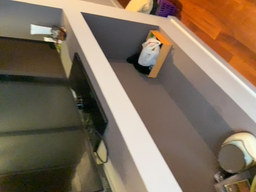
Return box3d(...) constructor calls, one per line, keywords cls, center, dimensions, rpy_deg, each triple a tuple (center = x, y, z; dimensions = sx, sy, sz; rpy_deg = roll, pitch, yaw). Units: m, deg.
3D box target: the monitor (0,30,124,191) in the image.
box3d(cls="monitor", center=(-0.430, -0.010, 0.810), dimensions=(0.880, 0.550, 0.050), rpy_deg=(60, 139, 39))
